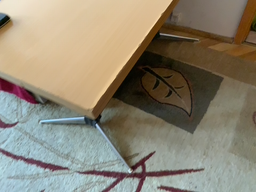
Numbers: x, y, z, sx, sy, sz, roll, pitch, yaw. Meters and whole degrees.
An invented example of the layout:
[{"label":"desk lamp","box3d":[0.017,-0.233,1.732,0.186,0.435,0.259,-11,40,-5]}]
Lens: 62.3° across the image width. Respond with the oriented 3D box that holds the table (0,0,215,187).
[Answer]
[{"label":"table","box3d":[0.000,-0.270,1.080,0.580,0.610,1.100,22,59,20]}]
